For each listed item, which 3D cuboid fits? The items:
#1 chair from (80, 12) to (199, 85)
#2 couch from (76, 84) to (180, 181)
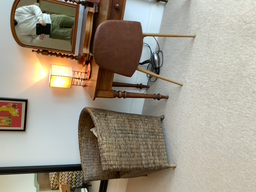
[{"bbox_3d":[0.070,-0.390,1.780,0.460,0.820,0.410,-138,56,-61],"label":"chair"},{"bbox_3d":[-0.080,0.400,2.110,0.760,0.720,0.700,133,136,-55],"label":"couch"}]
